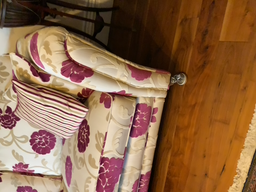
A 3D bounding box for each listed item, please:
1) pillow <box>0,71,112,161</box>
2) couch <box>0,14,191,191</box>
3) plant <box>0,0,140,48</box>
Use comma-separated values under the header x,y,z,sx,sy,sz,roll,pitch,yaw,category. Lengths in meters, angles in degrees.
x,y,z,sx,sy,sz,roll,pitch,yaw,category
-0.450,0.100,1.240,0.530,0.510,0.180,-39,79,22,pillow
-0.440,0.630,1.520,1.020,0.900,2.030,20,105,53,couch
-0.550,-0.630,1.490,0.380,1.260,0.370,20,105,53,plant
